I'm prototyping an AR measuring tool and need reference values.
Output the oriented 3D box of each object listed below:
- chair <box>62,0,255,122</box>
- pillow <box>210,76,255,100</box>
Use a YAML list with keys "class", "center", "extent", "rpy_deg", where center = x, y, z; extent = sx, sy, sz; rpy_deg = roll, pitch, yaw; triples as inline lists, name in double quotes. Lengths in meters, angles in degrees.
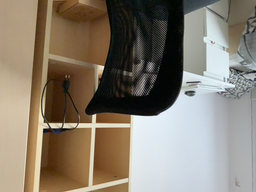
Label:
- class: "chair"
  center: [0.180, -0.410, 0.800]
  extent: [0.590, 0.990, 0.550]
  rpy_deg: [7, 172, -39]
- class: "pillow"
  center: [1.210, -0.070, 2.340]
  extent: [0.460, 0.180, 0.410]
  rpy_deg: [8, 172, -42]
